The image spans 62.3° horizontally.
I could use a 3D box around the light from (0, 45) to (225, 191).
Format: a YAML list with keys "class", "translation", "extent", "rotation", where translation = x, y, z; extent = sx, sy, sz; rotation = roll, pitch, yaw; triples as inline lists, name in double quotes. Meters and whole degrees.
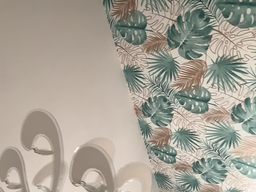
- class: "light"
  translation: [-0.200, 0.320, 0.670]
  extent: [0.790, 0.580, 0.470]
  rotation: [24, -25, -16]
